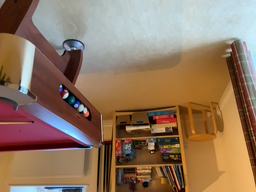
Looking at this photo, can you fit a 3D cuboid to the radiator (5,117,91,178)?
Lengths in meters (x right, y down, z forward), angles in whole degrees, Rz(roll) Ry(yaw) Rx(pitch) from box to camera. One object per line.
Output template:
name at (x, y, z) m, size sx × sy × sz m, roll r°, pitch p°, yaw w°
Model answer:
radiator at (-1.200, 0.790, 3.270) m, size 1.190 × 0.870 × 0.160 m, roll -4°, pitch 156°, yaw 7°

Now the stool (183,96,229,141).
stool at (0.990, 0.310, 2.780) m, size 0.440 × 0.450 × 0.440 m, roll -5°, pitch 157°, yaw 9°
